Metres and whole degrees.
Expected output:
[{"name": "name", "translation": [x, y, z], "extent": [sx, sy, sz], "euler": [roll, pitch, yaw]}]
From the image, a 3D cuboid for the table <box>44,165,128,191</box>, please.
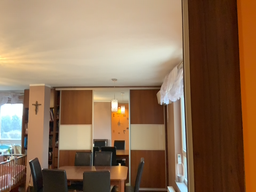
[{"name": "table", "translation": [-0.700, 1.760, 3.940], "extent": [1.370, 0.740, 0.870], "euler": [0, -5, 2]}]
